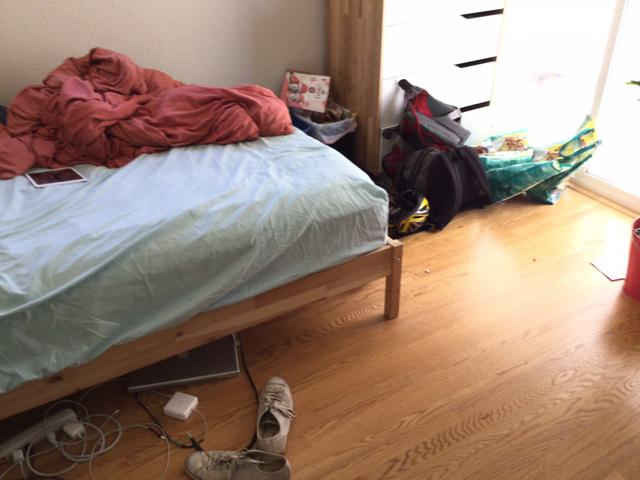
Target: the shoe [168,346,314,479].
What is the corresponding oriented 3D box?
[{"bbox_3d":[-0.210,0.570,1.680,0.370,0.440,0.080,-20,34,-26],"label":"shoe"}]
